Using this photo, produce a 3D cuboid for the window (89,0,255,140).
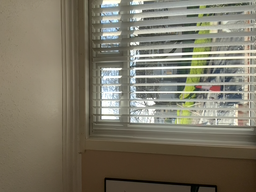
[{"bbox_3d":[0.470,-0.420,2.100,0.230,1.710,1.610,-12,-77,-79],"label":"window"}]
